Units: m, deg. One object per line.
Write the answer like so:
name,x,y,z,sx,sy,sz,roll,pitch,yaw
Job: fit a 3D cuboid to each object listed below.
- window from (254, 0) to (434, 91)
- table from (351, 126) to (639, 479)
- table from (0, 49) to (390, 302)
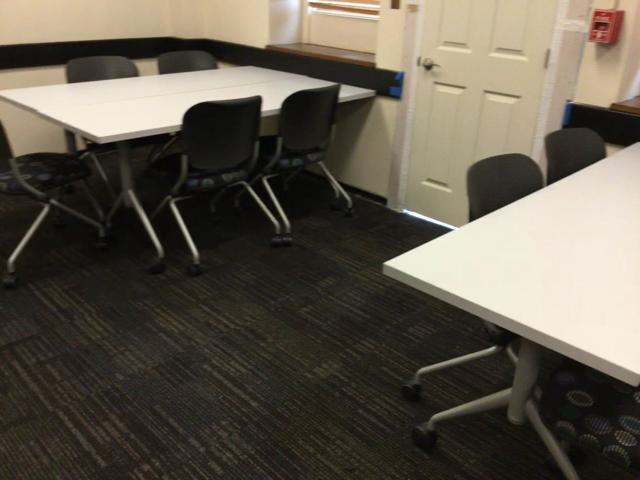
window,0.120,-1.480,3.730,0.450,0.780,1.130,-19,34,-41
table,0.940,0.210,1.950,1.720,0.810,0.640,-22,33,-39
table,-0.750,-0.570,3.430,1.430,0.830,1.780,26,32,37
